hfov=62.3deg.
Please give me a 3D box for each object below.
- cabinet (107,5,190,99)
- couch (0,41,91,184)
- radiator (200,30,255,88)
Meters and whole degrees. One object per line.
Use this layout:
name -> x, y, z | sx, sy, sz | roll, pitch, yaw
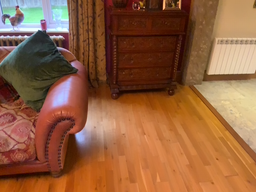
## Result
cabinet -> 0.200, -0.600, 2.930 | 0.930, 1.120, 0.520 | -3, 31, -11
couch -> -1.670, 0.080, 1.860 | 2.620, 0.820, 1.120 | -2, 31, -9
radiator -> 1.710, -0.590, 3.420 | 0.860, 0.860, 0.230 | -3, 31, -11
